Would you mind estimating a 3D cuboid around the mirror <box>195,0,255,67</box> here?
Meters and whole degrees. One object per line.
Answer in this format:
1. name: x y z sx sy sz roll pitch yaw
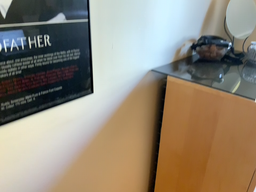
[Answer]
1. mirror: 0.770 -0.430 1.380 0.460 0.350 0.420 21 31 34
